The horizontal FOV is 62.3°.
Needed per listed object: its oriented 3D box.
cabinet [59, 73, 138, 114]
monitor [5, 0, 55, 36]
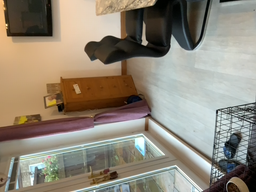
[{"bbox_3d":[-0.530,-0.060,3.730,0.410,1.260,0.450,116,142,-53],"label":"cabinet"},{"bbox_3d":[-1.450,-1.420,3.110,0.060,0.630,1.030,-151,58,-62],"label":"monitor"}]
